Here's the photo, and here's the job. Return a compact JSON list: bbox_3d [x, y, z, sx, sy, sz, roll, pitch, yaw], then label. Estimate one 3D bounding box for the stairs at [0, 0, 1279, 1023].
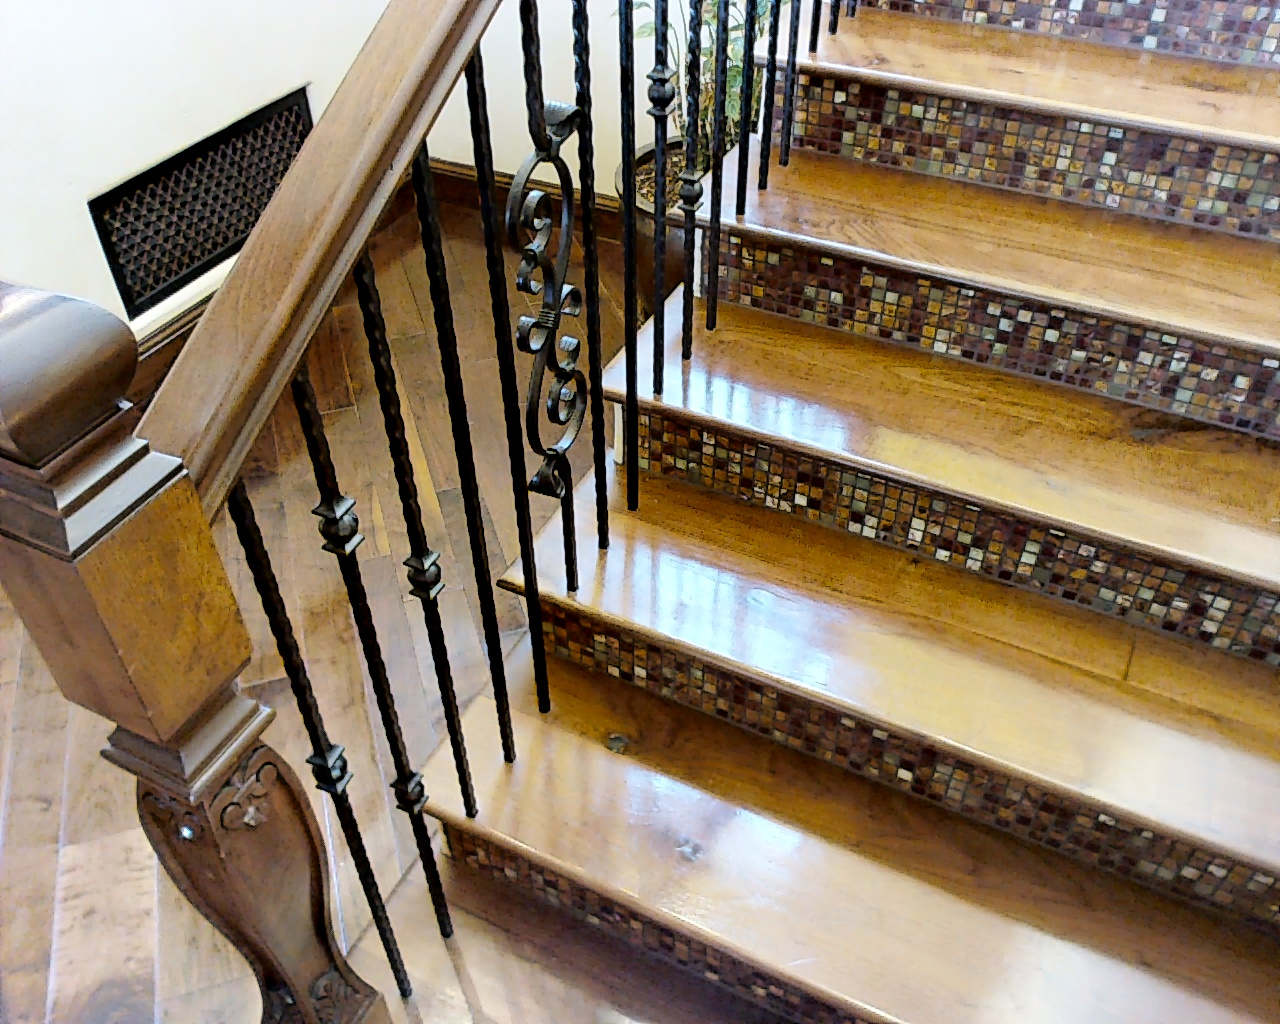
[{"bbox_3d":[0.590,-0.280,1.490,1.180,1.630,2.690,18,45,20],"label":"stairs"}]
